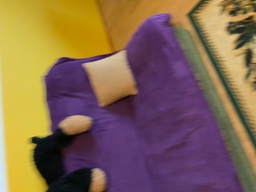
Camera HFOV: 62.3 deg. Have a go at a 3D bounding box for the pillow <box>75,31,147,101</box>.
[{"bbox_3d":[-0.130,-0.210,1.580,0.220,0.390,0.430,-33,66,50],"label":"pillow"}]

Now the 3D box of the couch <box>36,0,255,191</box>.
[{"bbox_3d":[0.120,0.500,1.350,1.000,0.880,1.970,-42,59,47],"label":"couch"}]
